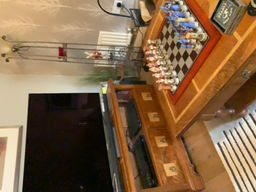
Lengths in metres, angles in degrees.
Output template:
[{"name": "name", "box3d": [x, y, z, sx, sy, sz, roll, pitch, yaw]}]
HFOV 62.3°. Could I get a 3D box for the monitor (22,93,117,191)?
[{"name": "monitor", "box3d": [-0.530, 0.470, 1.920, 0.080, 0.720, 1.180, 114, 149, -49]}]
